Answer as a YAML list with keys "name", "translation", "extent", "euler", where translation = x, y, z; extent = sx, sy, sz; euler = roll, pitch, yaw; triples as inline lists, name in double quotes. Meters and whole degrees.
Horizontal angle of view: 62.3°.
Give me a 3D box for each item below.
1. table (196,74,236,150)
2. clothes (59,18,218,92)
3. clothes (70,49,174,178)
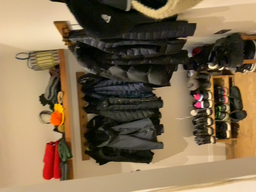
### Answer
- name: "table"
  translation: [1.070, 0.180, 2.590]
  extent: [0.290, 0.310, 0.860]
  euler: [-162, 68, -80]
- name: "clothes"
  translation: [0.000, -0.300, 1.840]
  extent: [1.190, 0.940, 0.390]
  euler: [-154, 60, -79]
- name: "clothes"
  translation: [-0.050, 0.170, 2.380]
  extent: [0.270, 1.020, 1.290]
  euler: [-154, 59, -79]
